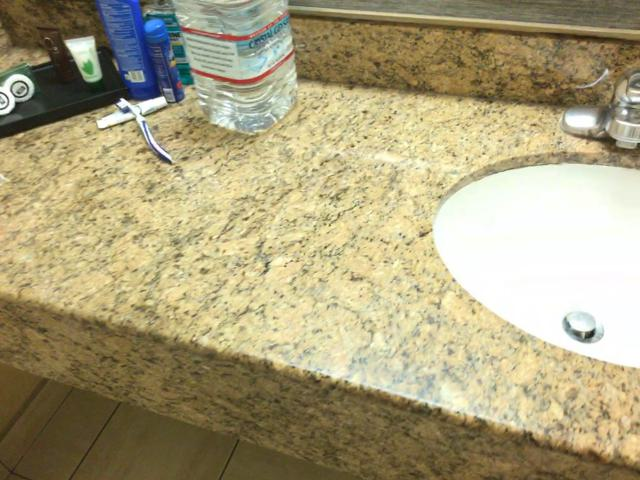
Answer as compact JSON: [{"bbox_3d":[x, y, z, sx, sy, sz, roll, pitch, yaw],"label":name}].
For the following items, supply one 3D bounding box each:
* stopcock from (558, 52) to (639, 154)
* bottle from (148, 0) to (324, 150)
[{"bbox_3d":[0.420,-0.190,0.800,0.150,0.080,0.120,10,44,16],"label":"stopcock"},{"bbox_3d":[-0.110,-0.300,0.870,0.160,0.230,0.210,10,44,16],"label":"bottle"}]
